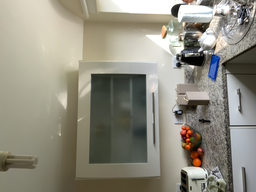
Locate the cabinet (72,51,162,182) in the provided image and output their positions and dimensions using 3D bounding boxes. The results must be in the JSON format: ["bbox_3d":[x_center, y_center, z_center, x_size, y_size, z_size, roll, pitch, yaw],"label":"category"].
[{"bbox_3d":[-0.100,0.170,1.980,0.340,0.740,1.100,118,152,-81],"label":"cabinet"}]
